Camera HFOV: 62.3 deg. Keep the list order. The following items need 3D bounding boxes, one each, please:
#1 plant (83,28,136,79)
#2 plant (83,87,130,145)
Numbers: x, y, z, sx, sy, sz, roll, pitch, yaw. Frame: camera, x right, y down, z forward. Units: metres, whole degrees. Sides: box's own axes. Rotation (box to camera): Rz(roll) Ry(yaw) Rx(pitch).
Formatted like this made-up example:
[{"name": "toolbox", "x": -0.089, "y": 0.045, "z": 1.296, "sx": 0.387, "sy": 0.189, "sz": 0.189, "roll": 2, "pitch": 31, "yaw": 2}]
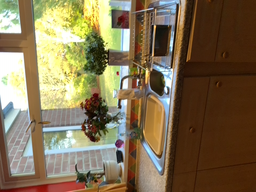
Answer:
[{"name": "plant", "x": -0.160, "y": -0.340, "z": 1.670, "sx": 0.270, "sy": 0.360, "sz": 0.350, "roll": -127, "pitch": 38, "yaw": -65}, {"name": "plant", "x": -0.200, "y": 0.160, "z": 1.850, "sx": 0.310, "sy": 0.350, "sz": 0.390, "roll": -130, "pitch": 40, "yaw": -66}]
